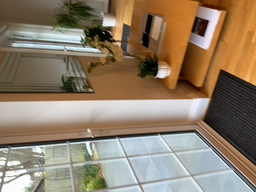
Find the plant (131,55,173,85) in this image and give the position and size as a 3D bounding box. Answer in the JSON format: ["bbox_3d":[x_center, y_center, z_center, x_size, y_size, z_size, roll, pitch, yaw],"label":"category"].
[{"bbox_3d":[0.200,-0.230,1.840,0.270,0.240,0.160,-124,39,-55],"label":"plant"}]

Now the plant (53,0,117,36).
[{"bbox_3d":[-0.930,-1.650,4.450,0.580,1.200,0.540,-124,39,-55],"label":"plant"}]
